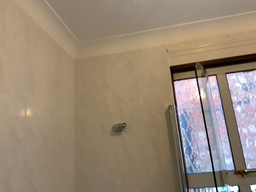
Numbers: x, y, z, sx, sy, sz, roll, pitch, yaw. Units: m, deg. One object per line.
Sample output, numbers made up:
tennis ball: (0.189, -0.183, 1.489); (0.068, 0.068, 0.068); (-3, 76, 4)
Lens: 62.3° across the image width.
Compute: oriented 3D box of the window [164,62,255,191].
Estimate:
window: (0.660, 0.530, 1.220); (0.710, 1.470, 0.080); (-8, -17, 11)
